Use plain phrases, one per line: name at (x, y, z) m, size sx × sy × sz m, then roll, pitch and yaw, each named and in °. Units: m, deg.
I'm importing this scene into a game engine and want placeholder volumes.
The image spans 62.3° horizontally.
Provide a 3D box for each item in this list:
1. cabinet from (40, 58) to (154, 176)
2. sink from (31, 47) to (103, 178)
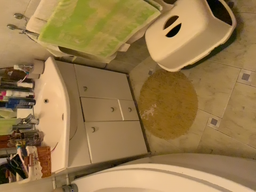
cabinet at (-0.270, 0.180, 1.840) m, size 0.390 × 0.760 × 0.790 m, roll -34°, pitch 63°, yaw 39°
sink at (-0.490, 0.130, 1.570) m, size 0.490 × 0.210 × 0.800 m, roll -34°, pitch 63°, yaw 39°
